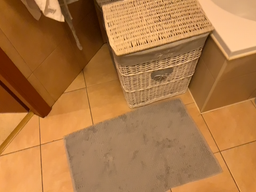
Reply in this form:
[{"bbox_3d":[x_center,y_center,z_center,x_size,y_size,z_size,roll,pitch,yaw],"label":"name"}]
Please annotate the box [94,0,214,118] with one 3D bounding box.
[{"bbox_3d":[0.120,-0.200,1.180,0.440,0.560,0.320,-18,60,-6],"label":"box"}]
